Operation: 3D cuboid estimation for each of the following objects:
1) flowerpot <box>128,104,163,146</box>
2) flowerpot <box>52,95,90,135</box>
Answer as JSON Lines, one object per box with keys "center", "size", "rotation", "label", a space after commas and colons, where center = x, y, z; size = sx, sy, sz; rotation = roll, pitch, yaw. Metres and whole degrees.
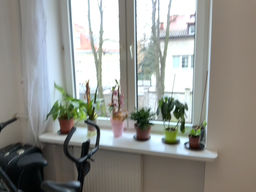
{"center": [0.170, 0.260, 2.010], "size": [0.260, 0.310, 0.240], "rotation": [4, 11, 24], "label": "flowerpot"}
{"center": [-0.600, 0.190, 2.260], "size": [0.220, 0.340, 0.320], "rotation": [4, 11, 24], "label": "flowerpot"}
